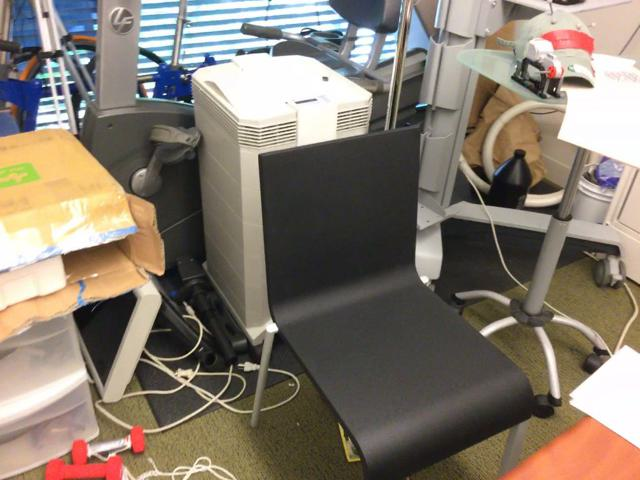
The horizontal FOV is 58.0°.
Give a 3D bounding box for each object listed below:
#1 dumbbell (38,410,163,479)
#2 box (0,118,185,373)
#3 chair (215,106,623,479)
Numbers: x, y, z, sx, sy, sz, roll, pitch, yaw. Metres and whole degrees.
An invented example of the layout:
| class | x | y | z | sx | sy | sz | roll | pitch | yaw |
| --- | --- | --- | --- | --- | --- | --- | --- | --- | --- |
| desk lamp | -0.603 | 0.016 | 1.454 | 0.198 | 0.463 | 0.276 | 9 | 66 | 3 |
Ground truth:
| class | x | y | z | sx | sy | sz | roll | pitch | yaw |
| --- | --- | --- | --- | --- | --- | --- | --- | --- | --- |
| dumbbell | -0.530 | 0.530 | 1.400 | 0.250 | 0.060 | 0.140 | -17 | 37 | -28 |
| box | -0.630 | -0.020 | 1.290 | 0.460 | 0.280 | 0.520 | -17 | 37 | -28 |
| chair | 0.130 | 0.220 | 1.250 | 0.460 | 0.800 | 0.580 | -17 | 37 | -28 |
